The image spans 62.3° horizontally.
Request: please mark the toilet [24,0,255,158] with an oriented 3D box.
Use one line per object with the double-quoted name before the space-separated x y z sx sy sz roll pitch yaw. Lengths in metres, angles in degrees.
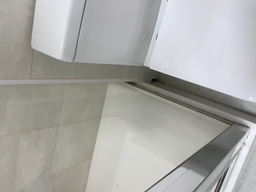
"toilet" 0.220 -0.230 0.680 0.600 0.780 0.390 24 108 34
